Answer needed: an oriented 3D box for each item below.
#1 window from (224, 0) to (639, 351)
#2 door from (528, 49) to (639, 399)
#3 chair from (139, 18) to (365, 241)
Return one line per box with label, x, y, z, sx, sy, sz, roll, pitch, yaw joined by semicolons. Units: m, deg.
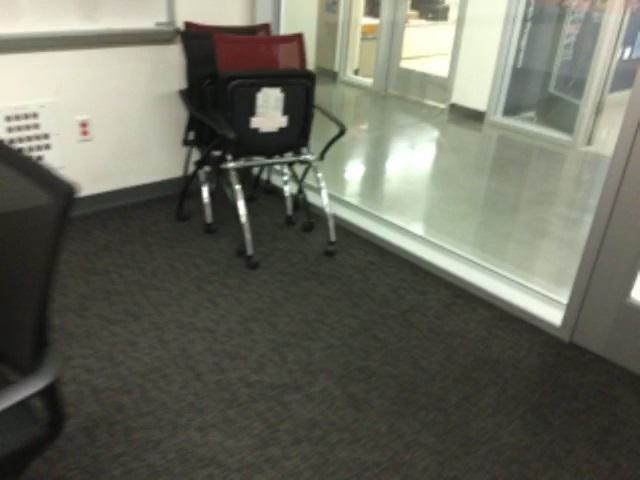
window;0.370;-0.680;2.610;2.100;1.510;0.370;26;31;38
door;1.160;0.020;1.770;0.190;1.050;0.780;-16;32;-40
chair;-0.370;-0.600;2.880;0.730;0.840;0.820;-13;30;-36
